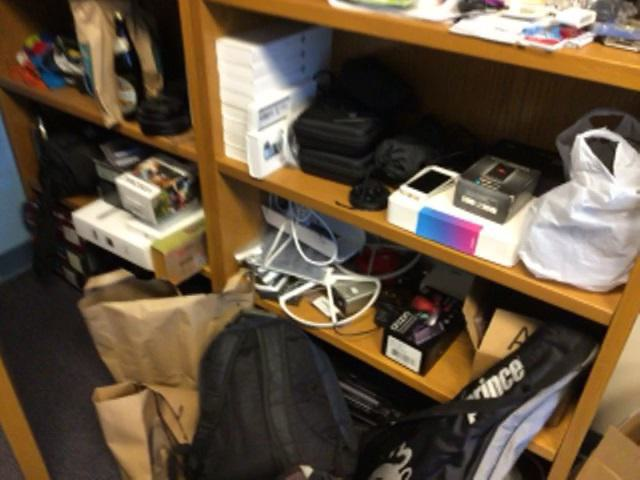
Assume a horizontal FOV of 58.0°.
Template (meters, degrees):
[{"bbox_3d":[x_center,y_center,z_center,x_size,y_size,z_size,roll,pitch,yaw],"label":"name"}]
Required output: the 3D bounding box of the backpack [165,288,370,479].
[{"bbox_3d":[-0.130,0.400,1.370,0.340,0.420,0.350,17,9,-5],"label":"backpack"}]
